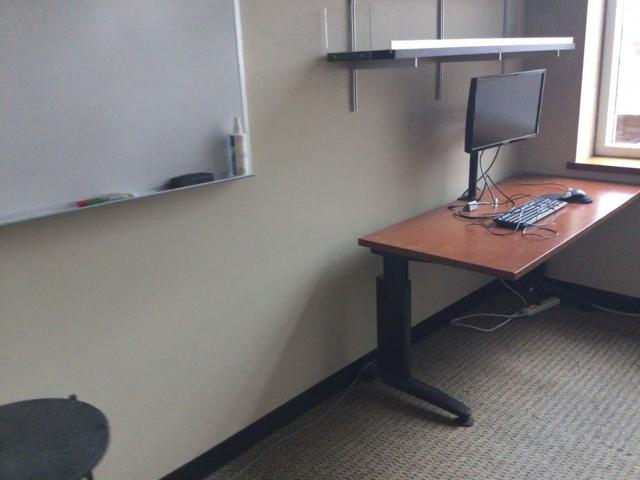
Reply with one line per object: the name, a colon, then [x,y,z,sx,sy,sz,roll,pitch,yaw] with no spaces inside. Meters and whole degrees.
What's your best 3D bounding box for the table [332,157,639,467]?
table: [0.890,0.150,2.650,0.780,0.800,1.510,9,21,43]
